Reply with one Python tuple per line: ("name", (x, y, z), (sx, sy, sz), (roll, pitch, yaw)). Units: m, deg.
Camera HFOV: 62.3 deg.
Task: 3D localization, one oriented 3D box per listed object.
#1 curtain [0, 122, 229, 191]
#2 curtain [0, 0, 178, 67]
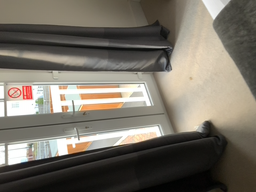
("curtain", (-0.380, 0.460, 1.210), (0.260, 2.420, 0.310), (-50, 50, 51))
("curtain", (-0.690, -0.480, 1.670), (0.200, 2.520, 0.400), (-46, 53, 53))
